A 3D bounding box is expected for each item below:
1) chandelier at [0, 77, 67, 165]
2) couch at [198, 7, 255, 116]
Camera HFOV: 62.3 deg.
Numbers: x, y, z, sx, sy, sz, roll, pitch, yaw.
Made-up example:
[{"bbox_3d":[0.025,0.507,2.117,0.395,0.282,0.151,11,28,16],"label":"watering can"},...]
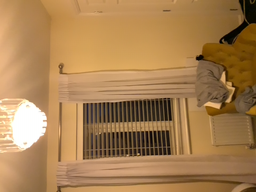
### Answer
[{"bbox_3d":[-0.570,0.140,1.060,0.330,0.420,0.330,93,-5,-63],"label":"chandelier"},{"bbox_3d":[1.110,-0.220,1.790,0.690,0.740,0.740,108,-20,-83],"label":"couch"}]
